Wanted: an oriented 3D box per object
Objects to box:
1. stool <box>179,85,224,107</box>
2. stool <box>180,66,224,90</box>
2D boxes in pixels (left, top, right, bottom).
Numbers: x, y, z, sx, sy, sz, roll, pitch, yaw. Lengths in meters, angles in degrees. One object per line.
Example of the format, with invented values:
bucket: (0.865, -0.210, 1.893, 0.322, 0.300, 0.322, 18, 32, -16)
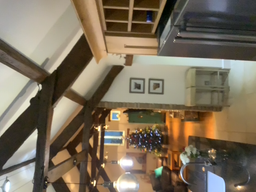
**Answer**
stool: (1.410, 0.010, 4.100, 0.350, 0.740, 0.340, 116, 157, -83)
stool: (1.430, -0.340, 4.150, 0.340, 0.740, 0.360, 116, 157, -83)
